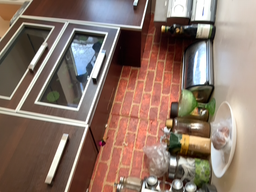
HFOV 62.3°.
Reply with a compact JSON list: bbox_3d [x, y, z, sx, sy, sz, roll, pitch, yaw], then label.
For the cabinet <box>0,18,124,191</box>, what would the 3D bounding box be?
[{"bbox_3d":[-0.410,0.040,1.080,0.340,0.590,0.900,85,-165,-55],"label":"cabinet"}]
